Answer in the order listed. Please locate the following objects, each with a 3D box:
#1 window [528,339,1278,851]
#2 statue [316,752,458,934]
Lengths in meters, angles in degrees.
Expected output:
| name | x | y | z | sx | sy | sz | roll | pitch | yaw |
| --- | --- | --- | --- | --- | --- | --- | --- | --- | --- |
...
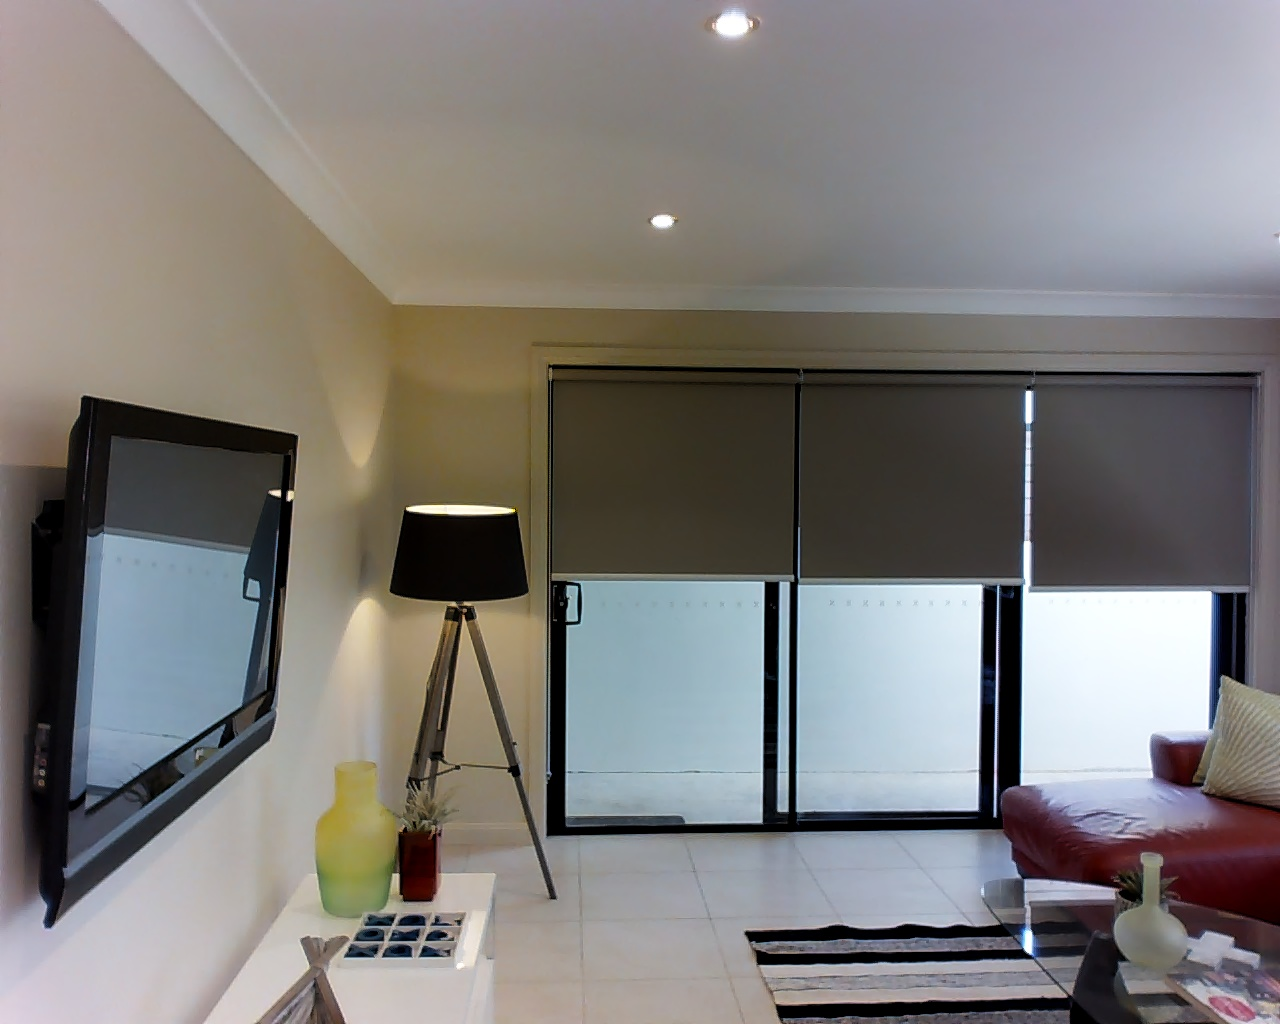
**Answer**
| name | x | y | z | sx | sy | sz | roll | pitch | yaw |
| --- | --- | --- | --- | --- | --- | --- | --- | --- | --- |
| window | 1.170 | 0.360 | 4.760 | 3.299 | 2.161 | 0.260 | 0 | 1 | -5 |
| statue | -0.620 | 0.810 | 2.660 | 0.310 | 0.350 | 0.290 | 0 | 1 | -6 |
